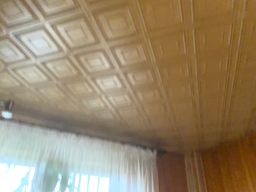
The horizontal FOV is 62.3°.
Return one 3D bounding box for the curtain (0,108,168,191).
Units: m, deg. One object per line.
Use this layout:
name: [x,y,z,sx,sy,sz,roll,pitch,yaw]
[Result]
curtain: [-0.630,0.810,1.910,2.340,1.120,0.200,18,-36,-24]
